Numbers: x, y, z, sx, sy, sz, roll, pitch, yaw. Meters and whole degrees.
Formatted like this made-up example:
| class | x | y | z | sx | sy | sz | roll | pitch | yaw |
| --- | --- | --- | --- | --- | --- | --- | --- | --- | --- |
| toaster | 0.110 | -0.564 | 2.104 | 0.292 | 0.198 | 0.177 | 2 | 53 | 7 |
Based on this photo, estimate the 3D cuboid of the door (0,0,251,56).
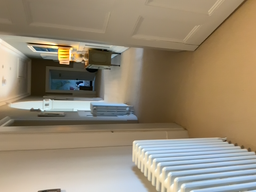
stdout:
| class | x | y | z | sx | sy | sz | roll | pitch | yaw |
| --- | --- | --- | --- | --- | --- | --- | --- | --- | --- |
| door | -0.230 | -0.650 | 1.530 | 0.850 | 2.200 | 0.070 | 124 | 144 | -61 |
